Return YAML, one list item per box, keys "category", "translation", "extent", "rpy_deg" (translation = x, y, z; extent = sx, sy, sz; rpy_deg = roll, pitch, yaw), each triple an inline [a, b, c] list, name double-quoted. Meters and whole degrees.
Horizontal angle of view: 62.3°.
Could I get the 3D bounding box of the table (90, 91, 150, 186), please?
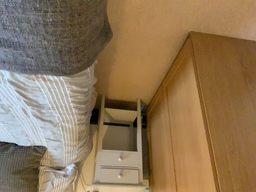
- category: "table"
  translation: [-0.080, 0.390, 1.930]
  extent: [0.440, 0.760, 0.350]
  rpy_deg: [6, 151, -10]
